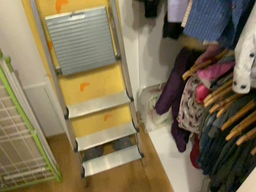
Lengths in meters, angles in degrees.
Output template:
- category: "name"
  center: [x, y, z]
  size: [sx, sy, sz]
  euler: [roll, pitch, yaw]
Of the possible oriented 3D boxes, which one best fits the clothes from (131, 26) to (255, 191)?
- category: "clothes"
  center: [0.350, 0.160, 1.200]
  size: [0.390, 0.720, 0.830]
  euler: [-15, 47, -12]
